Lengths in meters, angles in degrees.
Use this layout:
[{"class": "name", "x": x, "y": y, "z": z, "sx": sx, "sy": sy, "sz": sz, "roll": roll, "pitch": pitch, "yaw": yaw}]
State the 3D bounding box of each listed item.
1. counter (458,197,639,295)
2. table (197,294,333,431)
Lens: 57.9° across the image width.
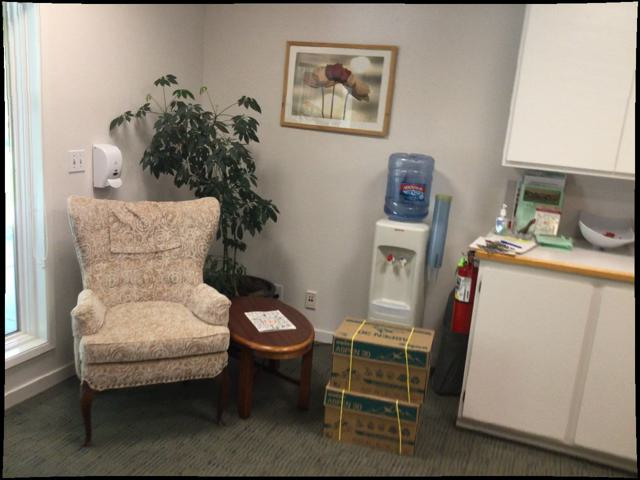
[{"class": "counter", "x": 2.078, "y": 0.150, "z": 2.490, "sx": 2.798, "sy": 0.210, "sz": 0.760, "roll": 10, "pitch": 16, "yaw": 21}, {"class": "table", "x": -0.280, "y": 0.611, "z": 3.020, "sx": 0.540, "sy": 0.450, "sz": 0.460, "roll": 10, "pitch": 16, "yaw": 21}]
